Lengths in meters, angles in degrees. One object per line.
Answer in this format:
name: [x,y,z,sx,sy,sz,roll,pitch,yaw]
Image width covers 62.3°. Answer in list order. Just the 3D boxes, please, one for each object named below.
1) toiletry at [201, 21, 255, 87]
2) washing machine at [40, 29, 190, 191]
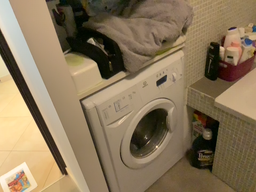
toiletry: [0.640,-0.260,1.250,0.380,0.220,0.200,-31,41,-27]
washing machine: [-0.030,0.130,1.330,0.570,0.840,0.530,-31,41,-27]
